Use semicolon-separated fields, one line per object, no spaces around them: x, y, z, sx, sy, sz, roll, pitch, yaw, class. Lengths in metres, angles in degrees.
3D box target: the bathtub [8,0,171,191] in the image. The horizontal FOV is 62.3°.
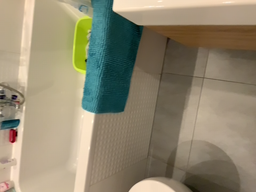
-0.270;-0.020;1.430;0.690;0.610;1.590;13;99;34;bathtub
